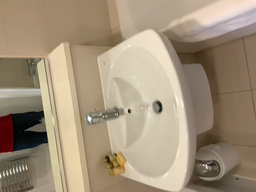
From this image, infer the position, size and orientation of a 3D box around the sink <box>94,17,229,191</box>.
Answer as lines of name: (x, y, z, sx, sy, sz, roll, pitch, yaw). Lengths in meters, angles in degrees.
sink: (0.100, 0.060, 0.900, 0.470, 0.190, 0.590, -11, 88, 51)
